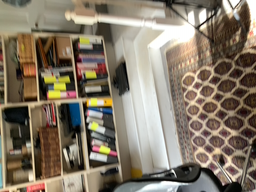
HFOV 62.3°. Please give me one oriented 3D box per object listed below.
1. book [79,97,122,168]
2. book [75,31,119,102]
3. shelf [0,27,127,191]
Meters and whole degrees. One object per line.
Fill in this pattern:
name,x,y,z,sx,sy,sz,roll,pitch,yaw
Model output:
book,-0.360,0.440,2.600,0.480,0.300,0.750,-26,70,63
book,-0.420,-0.370,2.790,0.360,0.410,0.840,-20,76,63
shelf,-1.030,0.500,2.370,0.330,1.880,2.540,-27,69,62
